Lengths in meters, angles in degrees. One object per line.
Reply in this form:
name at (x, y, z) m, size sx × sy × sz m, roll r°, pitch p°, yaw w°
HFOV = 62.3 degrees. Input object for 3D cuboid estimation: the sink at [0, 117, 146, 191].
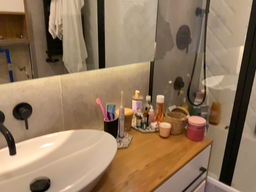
sink at (-0.290, 0.270, 0.730) m, size 0.610 × 0.120 × 0.390 m, roll -16°, pitch 26°, yaw -43°
